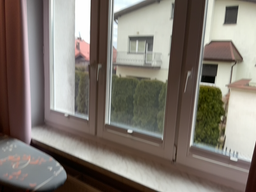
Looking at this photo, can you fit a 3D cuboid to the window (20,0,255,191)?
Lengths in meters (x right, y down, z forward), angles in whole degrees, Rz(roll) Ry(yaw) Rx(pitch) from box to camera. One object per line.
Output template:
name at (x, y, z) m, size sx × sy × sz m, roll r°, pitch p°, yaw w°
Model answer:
window at (0.000, -0.330, 1.520) m, size 2.250 × 1.470 × 0.320 m, roll 10°, pitch 12°, yaw 33°
